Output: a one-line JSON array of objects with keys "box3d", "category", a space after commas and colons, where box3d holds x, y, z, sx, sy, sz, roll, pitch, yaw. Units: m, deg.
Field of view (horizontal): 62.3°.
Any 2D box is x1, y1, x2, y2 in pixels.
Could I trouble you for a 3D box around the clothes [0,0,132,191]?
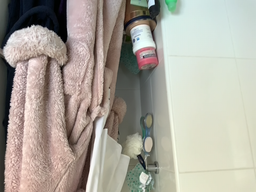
[{"box3d": [-0.190, 0.070, 0.860, 0.340, 1.230, 0.770, -3, 166, 3], "category": "clothes"}]
